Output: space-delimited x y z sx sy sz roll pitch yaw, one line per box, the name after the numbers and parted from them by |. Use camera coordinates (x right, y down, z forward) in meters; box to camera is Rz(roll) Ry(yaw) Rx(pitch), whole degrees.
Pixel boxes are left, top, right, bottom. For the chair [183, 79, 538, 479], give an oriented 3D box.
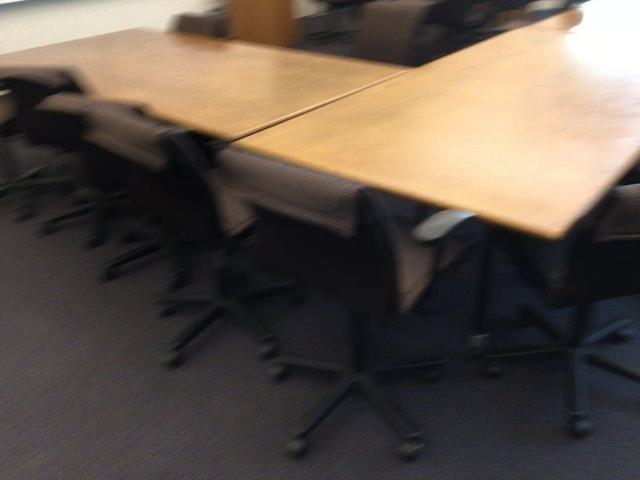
0.100 0.140 1.760 0.670 0.980 0.640 24 38 30 | chair

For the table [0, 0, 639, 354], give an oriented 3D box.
-0.300 -0.850 2.820 3.760 0.360 1.550 24 38 30 | table

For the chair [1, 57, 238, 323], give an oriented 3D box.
-0.800 -0.240 2.530 0.640 0.870 0.580 16 35 20 | chair

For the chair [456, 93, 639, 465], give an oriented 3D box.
0.880 0.100 1.790 0.560 0.920 0.580 -6 34 -14 | chair
